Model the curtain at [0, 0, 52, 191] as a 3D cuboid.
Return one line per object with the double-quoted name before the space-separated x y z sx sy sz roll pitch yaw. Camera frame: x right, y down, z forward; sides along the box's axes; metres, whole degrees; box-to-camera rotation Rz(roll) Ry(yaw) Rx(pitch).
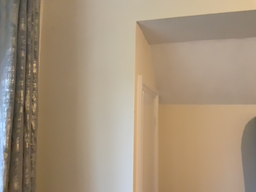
"curtain" -0.530 0.060 0.920 0.230 1.340 0.250 0 -5 12
